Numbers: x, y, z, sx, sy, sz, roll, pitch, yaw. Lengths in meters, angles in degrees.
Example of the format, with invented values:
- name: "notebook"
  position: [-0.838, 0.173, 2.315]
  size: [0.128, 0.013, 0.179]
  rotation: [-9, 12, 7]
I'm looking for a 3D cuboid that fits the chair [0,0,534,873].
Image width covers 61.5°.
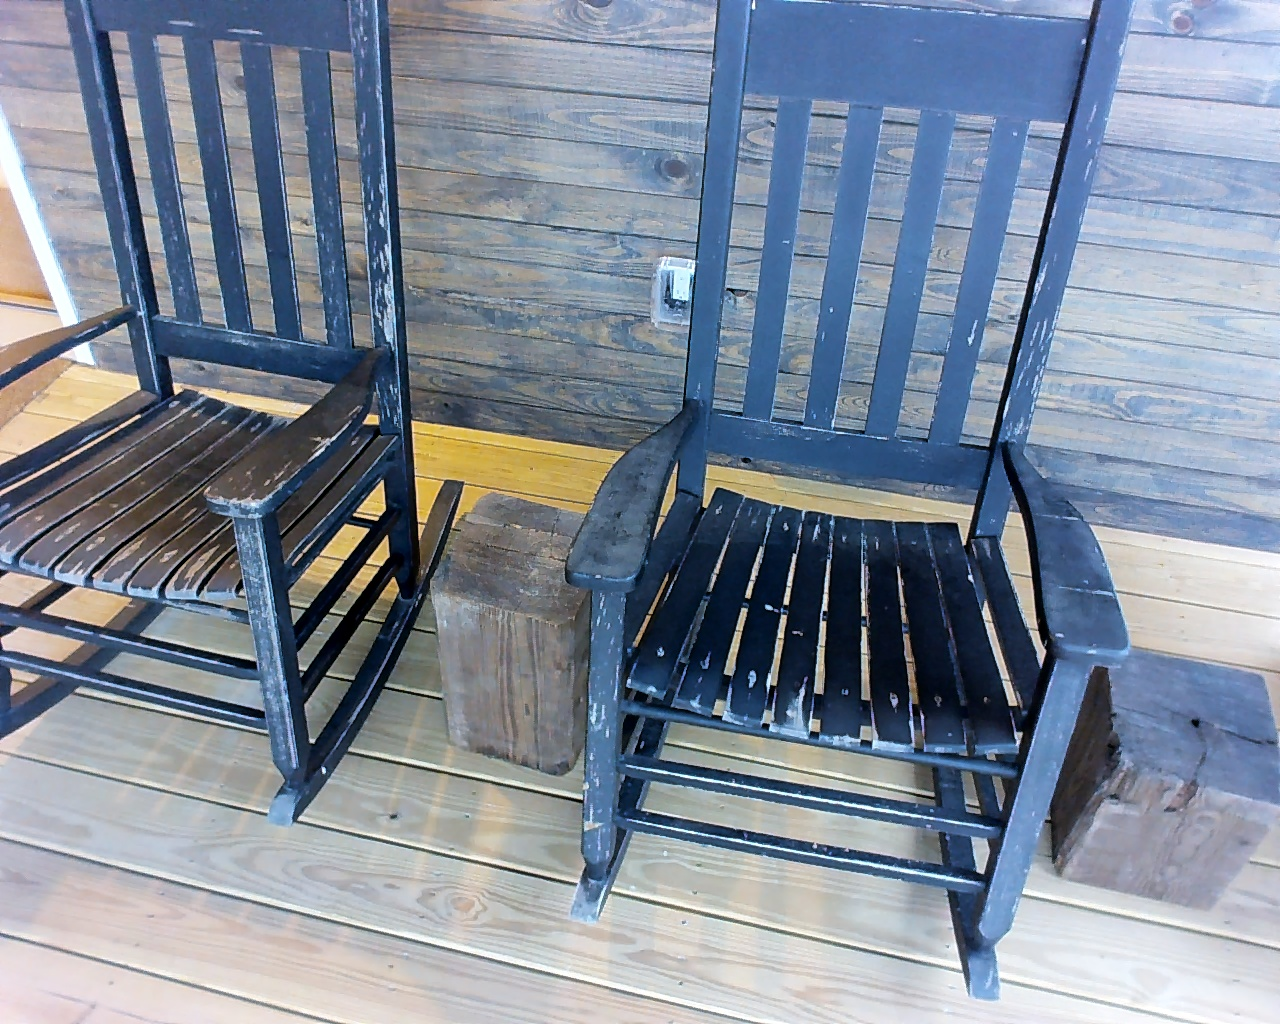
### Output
- name: "chair"
  position: [-0.700, -0.210, 1.730]
  size: [0.710, 1.200, 0.900]
  rotation: [8, 42, 11]
